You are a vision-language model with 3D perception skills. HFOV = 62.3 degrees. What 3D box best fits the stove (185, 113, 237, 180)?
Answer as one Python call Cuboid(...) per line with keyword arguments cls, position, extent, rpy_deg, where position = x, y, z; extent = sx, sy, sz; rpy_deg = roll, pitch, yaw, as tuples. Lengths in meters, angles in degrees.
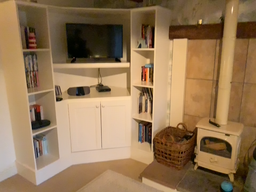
Cuboid(cls="stove", position=(0.960, 0.550, 2.460), extent=(0.440, 0.560, 0.390), rpy_deg=(9, 17, 32))
